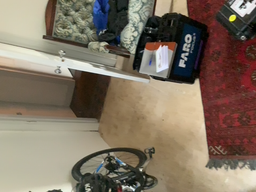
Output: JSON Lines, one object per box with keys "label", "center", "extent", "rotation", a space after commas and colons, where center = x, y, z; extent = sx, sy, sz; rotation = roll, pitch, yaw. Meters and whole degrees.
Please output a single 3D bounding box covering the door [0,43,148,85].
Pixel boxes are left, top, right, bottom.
{"label": "door", "center": [-0.760, -0.340, 1.900], "extent": [0.950, 1.700, 0.040], "rotation": [27, 106, 54]}
